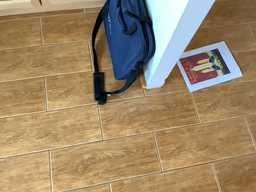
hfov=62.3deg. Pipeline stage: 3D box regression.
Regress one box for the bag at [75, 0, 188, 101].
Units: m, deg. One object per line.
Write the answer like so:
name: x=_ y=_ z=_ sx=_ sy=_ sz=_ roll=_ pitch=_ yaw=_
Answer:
bag: x=-0.030 y=-0.270 z=0.860 sx=0.280 sy=0.350 sz=0.440 roll=-15 pitch=73 yaw=-11
